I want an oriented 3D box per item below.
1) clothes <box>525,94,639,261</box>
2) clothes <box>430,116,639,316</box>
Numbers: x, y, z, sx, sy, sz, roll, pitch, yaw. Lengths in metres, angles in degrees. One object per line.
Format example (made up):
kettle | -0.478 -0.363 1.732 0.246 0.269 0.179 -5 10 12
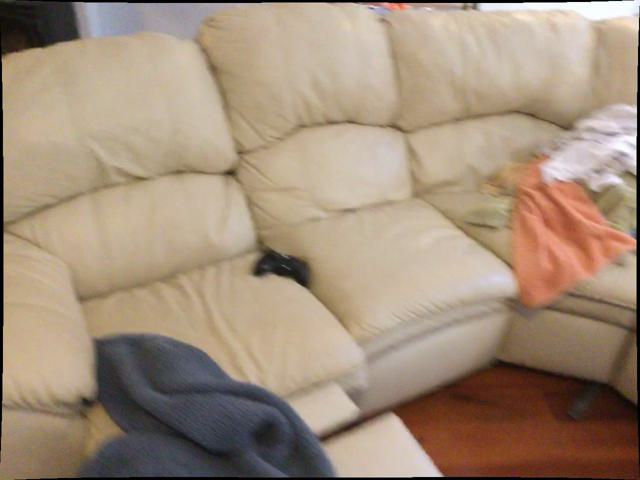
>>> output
clothes | 1.019 -0.220 1.840 0.450 0.320 0.530 -1 33 -8
clothes | 0.689 -0.110 1.830 0.460 0.350 0.640 -1 33 -8
